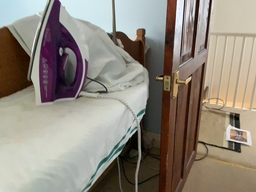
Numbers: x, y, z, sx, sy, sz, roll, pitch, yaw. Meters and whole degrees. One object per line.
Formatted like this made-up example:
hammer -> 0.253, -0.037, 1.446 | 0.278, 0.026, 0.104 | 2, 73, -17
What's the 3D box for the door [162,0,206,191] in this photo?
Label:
door -> 0.310, -0.330, 1.020 | 0.040, 1.960, 0.670 | 8, 22, 22
